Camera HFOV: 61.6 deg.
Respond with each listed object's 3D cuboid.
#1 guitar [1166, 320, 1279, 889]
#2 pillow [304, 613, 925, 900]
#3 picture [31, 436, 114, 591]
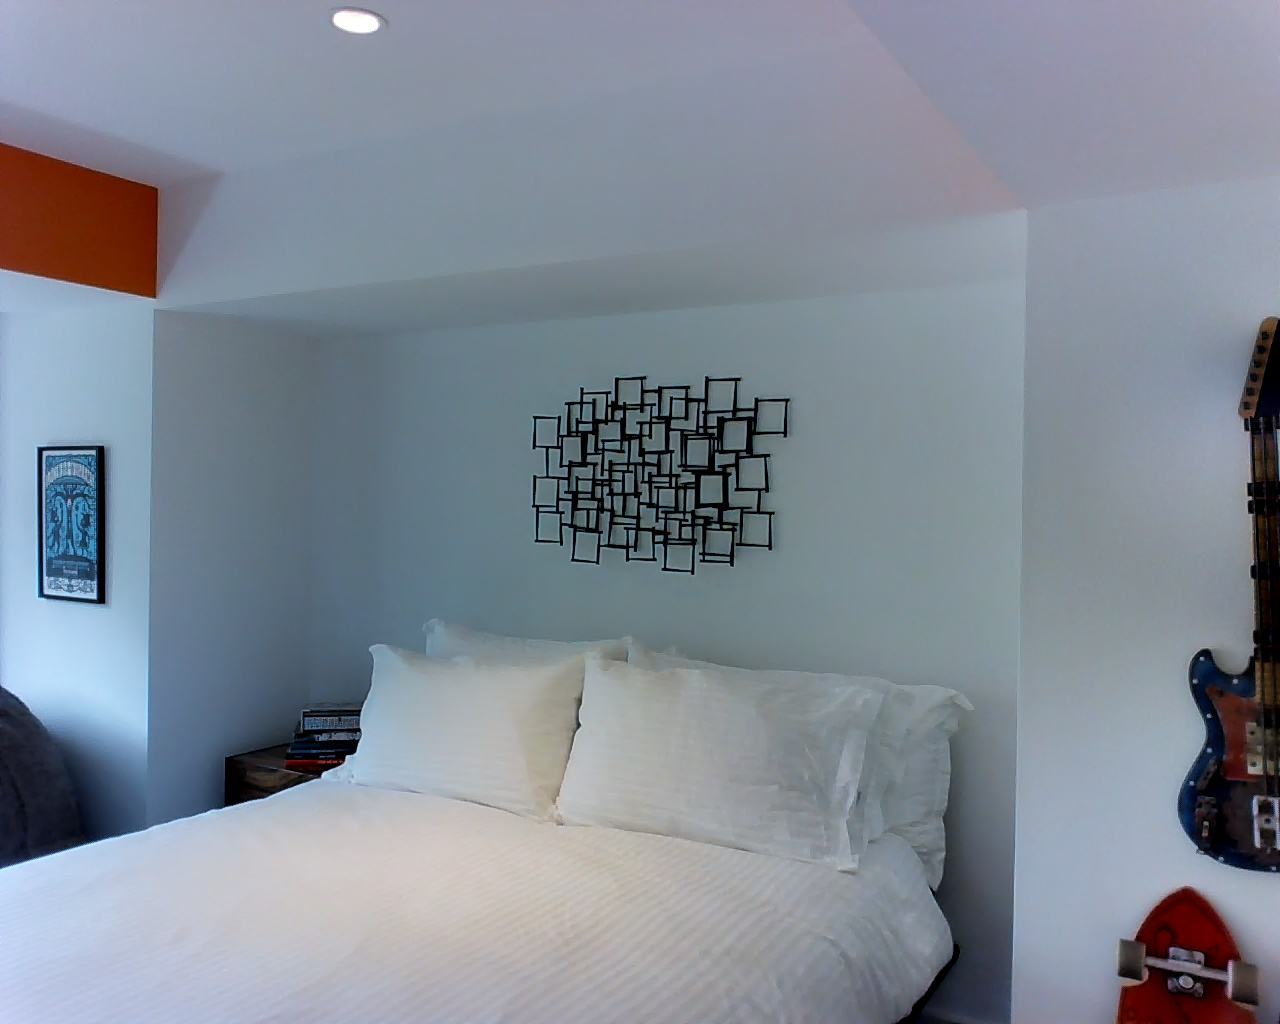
[{"bbox_3d":[1.130,0.160,1.880,0.350,0.980,0.080,1,1,31],"label":"guitar"},{"bbox_3d":[-0.110,0.570,2.860,1.590,0.450,0.540,1,1,29],"label":"pillow"},{"bbox_3d":[-1.970,0.000,3.720,0.410,0.520,0.050,1,1,31],"label":"picture"}]
